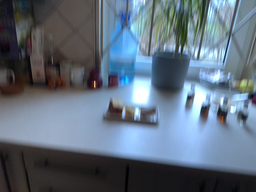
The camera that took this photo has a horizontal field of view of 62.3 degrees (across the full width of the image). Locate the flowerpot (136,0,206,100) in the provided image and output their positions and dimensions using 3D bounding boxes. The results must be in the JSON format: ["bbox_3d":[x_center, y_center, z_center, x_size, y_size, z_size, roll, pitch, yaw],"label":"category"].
[{"bbox_3d":[0.240,-0.380,1.190,0.280,0.700,0.340,8,24,10],"label":"flowerpot"}]
